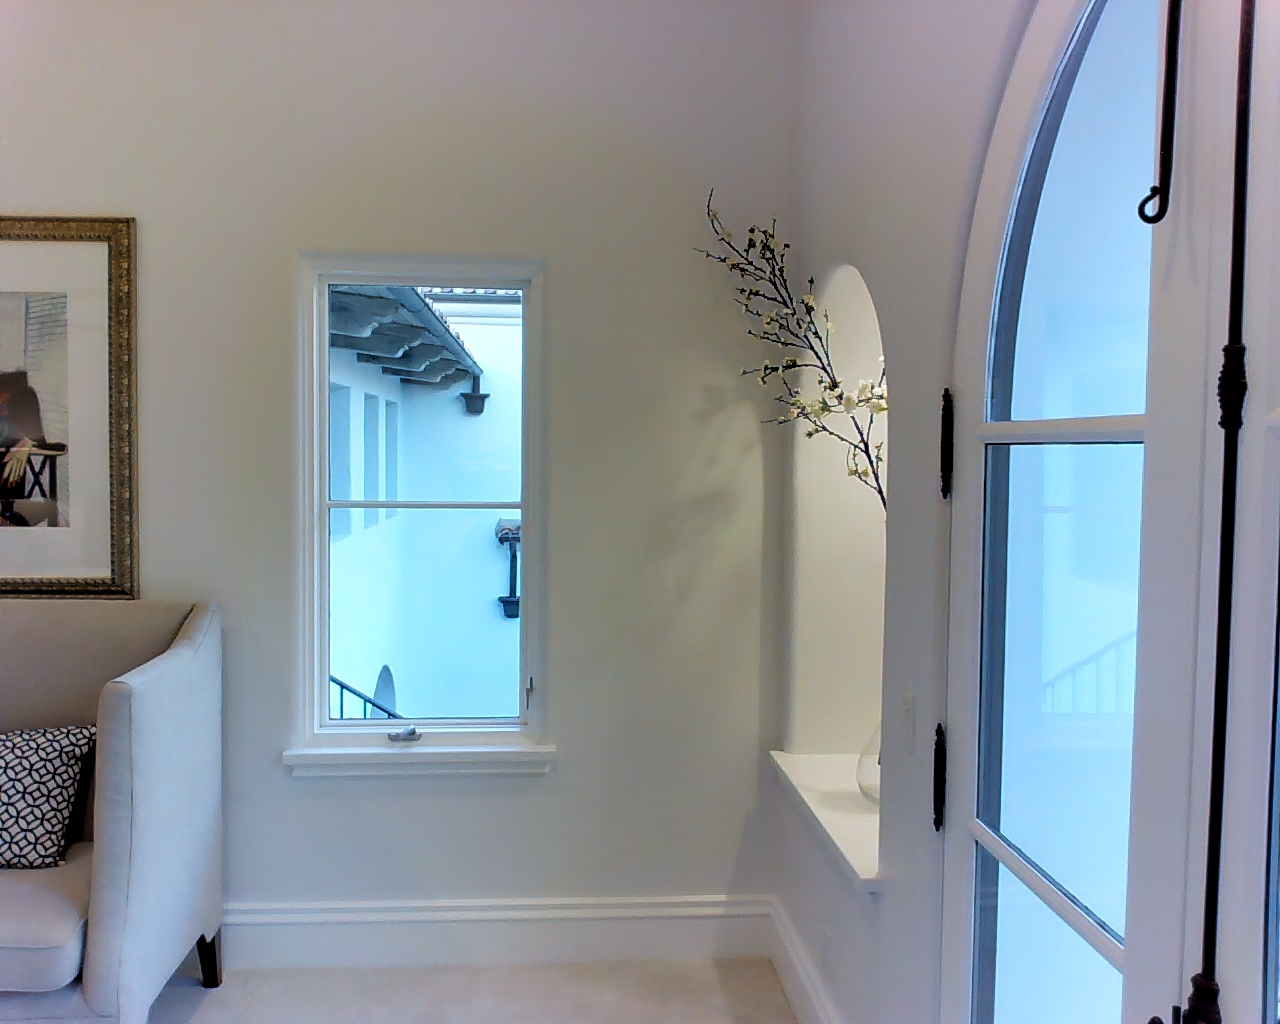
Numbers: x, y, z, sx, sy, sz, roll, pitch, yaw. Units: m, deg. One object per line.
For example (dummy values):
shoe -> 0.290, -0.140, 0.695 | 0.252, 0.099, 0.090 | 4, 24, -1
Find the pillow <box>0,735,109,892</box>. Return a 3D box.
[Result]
pillow -> -1.849, 0.760, 2.750 | 0.830, 0.310, 0.280 | 2, 3, -5

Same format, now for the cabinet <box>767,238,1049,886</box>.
cabinet -> 0.640, 0.100, 2.810 | 0.370, 1.420, 0.900 | 2, 3, -5

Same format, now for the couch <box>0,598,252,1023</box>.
couch -> -1.849, 0.870, 2.750 | 1.390, 1.180, 0.920 | 2, 3, -5
